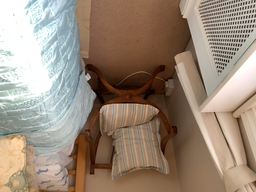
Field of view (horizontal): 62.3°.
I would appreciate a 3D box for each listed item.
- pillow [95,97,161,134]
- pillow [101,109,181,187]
[{"bbox_3d":[0.020,0.170,1.660,0.450,0.100,0.420,-5,151,5],"label":"pillow"},{"bbox_3d":[0.090,0.390,1.660,0.480,0.430,0.130,-20,148,-5],"label":"pillow"}]
